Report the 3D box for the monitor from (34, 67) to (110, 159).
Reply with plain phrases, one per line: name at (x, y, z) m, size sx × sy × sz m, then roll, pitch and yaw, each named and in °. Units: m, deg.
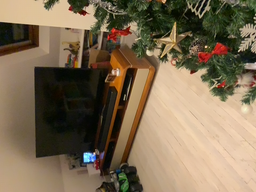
monitor at (-0.790, 0.290, 2.880) m, size 0.060 × 0.860 × 1.480 m, roll -121°, pitch 38°, yaw -47°
